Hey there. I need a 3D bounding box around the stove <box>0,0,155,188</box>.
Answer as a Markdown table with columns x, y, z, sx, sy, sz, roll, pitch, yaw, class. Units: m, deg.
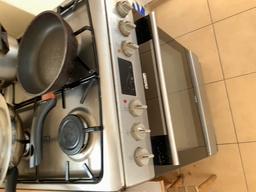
| x | y | z | sx | sy | sz | roll | pitch | yaw | class |
| --- | --- | --- | --- | --- | --- | --- | --- | --- | --- |
| -0.250 | 0.010 | 0.680 | 0.610 | 0.150 | 0.490 | -15 | 75 | 34 | stove |
